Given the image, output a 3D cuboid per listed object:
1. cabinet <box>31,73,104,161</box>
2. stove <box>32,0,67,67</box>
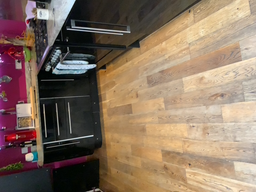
[{"bbox_3d":[-0.960,0.280,3.310,0.610,0.910,1.160,-11,84,61],"label":"cabinet"},{"bbox_3d":[-0.860,-0.710,2.240,0.850,0.170,0.610,-15,81,60],"label":"stove"}]
